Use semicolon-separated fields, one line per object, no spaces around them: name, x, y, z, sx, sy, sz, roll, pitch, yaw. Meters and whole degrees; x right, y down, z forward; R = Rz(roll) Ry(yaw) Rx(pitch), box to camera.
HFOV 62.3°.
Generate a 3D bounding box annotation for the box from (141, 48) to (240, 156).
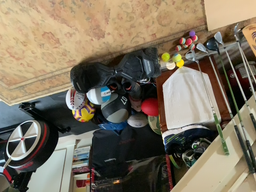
box;0.450;0.070;1.650;0.550;0.590;0.390;-20;141;25
